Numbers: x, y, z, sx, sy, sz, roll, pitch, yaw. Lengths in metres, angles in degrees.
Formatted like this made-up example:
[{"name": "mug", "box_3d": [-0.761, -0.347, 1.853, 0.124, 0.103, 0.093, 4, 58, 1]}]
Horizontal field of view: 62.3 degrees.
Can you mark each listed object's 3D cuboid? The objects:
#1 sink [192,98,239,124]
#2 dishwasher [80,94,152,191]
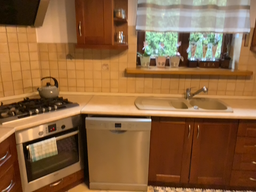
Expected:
[{"name": "sink", "box_3d": [0.910, 0.150, 2.270, 0.340, 0.140, 0.410, 2, 15, 2]}, {"name": "dishwasher", "box_3d": [-0.100, 0.480, 2.320, 0.640, 0.840, 0.690, 2, 15, 2]}]
